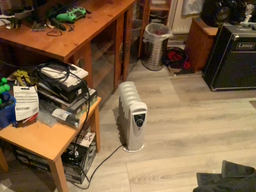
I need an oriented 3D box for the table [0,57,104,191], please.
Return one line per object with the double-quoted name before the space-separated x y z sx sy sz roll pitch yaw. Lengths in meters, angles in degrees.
"table" -0.560 0.190 1.180 0.700 0.480 0.470 18 43 14
